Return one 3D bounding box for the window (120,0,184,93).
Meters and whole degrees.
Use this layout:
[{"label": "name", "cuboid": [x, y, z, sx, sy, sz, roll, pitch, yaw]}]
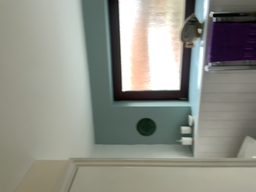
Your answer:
[{"label": "window", "cuboid": [0.240, -0.500, 2.210, 0.040, 0.610, 0.960, -86, -5, -70]}]
